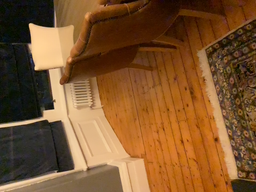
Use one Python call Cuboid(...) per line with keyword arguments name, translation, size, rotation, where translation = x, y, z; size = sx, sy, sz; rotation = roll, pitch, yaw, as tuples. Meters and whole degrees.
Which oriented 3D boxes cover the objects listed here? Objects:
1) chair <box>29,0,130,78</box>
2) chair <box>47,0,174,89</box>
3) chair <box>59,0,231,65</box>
Cuboid(name="chair", translation=(-0.630, -0.690, 2.600), size=(0.680, 0.990, 0.630), rotation=(-45, 56, 56))
Cuboid(name="chair", translation=(-0.180, -0.470, 1.890), size=(0.540, 0.900, 0.620), rotation=(-30, 70, 60))
Cuboid(name="chair", translation=(0.070, -0.610, 1.410), size=(0.540, 0.900, 0.620), rotation=(-30, 70, 60))
